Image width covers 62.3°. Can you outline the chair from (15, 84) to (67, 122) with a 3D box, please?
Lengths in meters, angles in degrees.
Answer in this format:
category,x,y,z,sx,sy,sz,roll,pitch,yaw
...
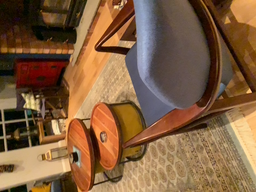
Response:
category,x,y,z,sx,sy,sz,roll,pitch,yaw
chair,-1.670,0.110,4.100,0.460,0.840,0.490,38,126,50

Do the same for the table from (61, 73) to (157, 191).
category,x,y,z,sx,sy,sz,roll,pitch,yaw
table,-0.350,0.510,2.420,1.380,0.410,0.880,-52,52,49
